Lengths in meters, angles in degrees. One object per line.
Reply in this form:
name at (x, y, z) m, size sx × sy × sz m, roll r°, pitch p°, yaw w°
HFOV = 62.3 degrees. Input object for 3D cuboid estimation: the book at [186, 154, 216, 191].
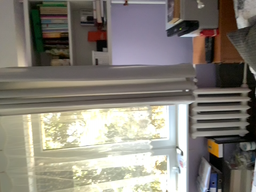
book at (0.720, 0.840, 2.120) m, size 0.270 × 0.160 × 0.410 m, roll -135°, pitch 44°, yaw -79°

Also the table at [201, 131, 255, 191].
table at (1.030, 0.720, 2.160) m, size 0.250 × 0.470 × 0.650 m, roll -148°, pitch 57°, yaw -81°

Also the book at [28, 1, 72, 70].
book at (-0.630, -0.480, 1.760) m, size 0.220 × 0.280 × 0.520 m, roll -148°, pitch 57°, yaw -81°
